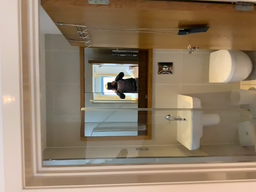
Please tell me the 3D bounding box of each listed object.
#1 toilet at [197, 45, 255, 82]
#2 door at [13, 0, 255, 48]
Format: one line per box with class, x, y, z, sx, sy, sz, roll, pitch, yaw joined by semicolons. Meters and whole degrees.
toilet;1.160;-0.360;2.450;0.560;0.490;0.370;-134;45;-81
door;0.530;-0.440;1.480;0.810;2.200;0.080;-137;47;-81
